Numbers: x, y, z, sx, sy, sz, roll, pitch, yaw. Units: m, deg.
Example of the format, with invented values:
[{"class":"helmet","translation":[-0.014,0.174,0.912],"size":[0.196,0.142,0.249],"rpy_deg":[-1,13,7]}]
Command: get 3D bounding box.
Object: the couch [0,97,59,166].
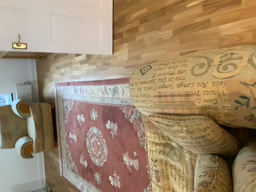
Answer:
[{"class":"couch","translation":[-2.020,0.590,4.140],"size":[1.050,0.890,1.040],"rpy_deg":[0,95,51]}]
